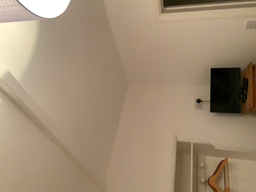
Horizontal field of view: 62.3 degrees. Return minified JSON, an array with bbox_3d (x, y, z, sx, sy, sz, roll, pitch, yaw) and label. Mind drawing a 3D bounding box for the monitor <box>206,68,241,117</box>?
[{"bbox_3d":[1.070,-0.040,2.390,0.060,0.350,0.540,21,-109,-74],"label":"monitor"}]
